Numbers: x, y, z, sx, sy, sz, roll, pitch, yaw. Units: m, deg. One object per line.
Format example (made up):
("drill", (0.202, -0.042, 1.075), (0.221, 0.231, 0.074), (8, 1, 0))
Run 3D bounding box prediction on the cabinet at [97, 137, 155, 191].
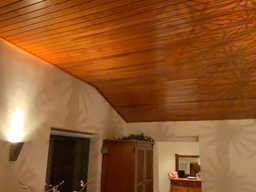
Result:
("cabinet", (0.010, 1.730, 3.750), (0.660, 1.900, 1.050), (-5, -16, 23))
